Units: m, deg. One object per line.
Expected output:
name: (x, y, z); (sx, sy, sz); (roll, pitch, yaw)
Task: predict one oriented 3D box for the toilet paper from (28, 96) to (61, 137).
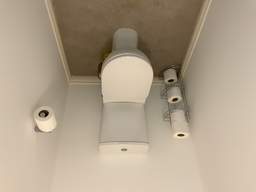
toilet paper: (-0.440, 0.110, 1.140); (0.110, 0.180, 0.130); (0, 145, -4)
